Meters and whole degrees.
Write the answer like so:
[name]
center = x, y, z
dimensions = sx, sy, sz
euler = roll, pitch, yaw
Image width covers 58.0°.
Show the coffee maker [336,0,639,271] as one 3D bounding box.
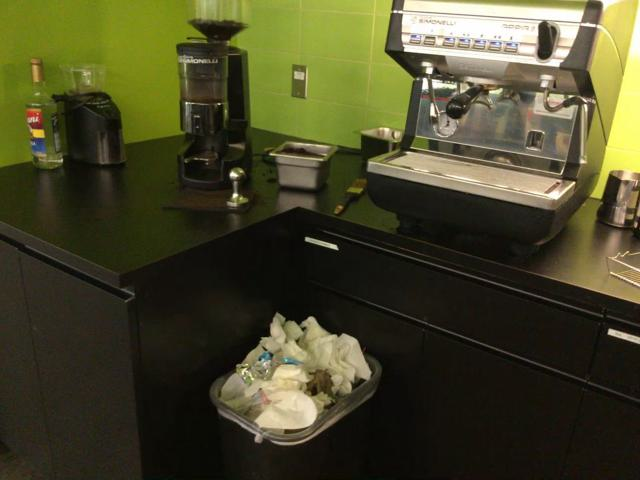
[coffee maker]
center = 0.390, -0.310, 1.250
dimensions = 0.440, 0.530, 0.580
euler = 14, 22, 34
